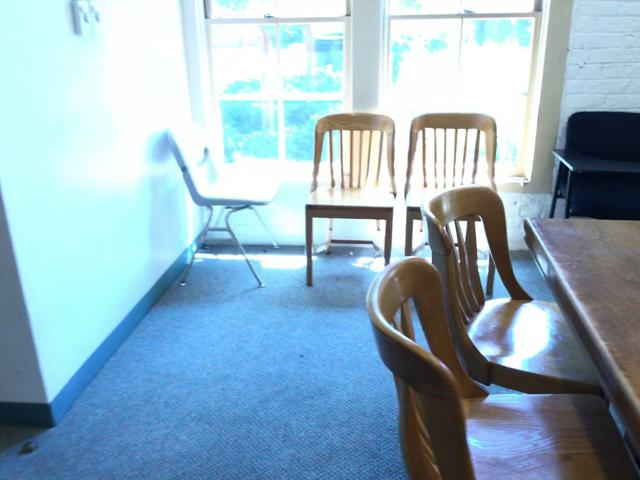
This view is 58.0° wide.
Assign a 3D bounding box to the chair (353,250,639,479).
[{"bbox_3d":[0.380,0.500,1.250,0.560,0.820,0.500,1,21,9],"label":"chair"}]

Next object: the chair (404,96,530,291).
[{"bbox_3d":[0.710,-0.260,2.980,0.530,0.860,0.590,1,21,9],"label":"chair"}]

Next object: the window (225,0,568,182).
[{"bbox_3d":[0.390,-0.910,3.210,1.730,1.120,0.300,1,21,9],"label":"window"}]

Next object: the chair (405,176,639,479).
[{"bbox_3d":[0.610,0.300,1.700,0.610,0.820,0.630,4,21,17],"label":"chair"}]

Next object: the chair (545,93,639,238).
[{"bbox_3d":[1.450,-0.380,2.780,0.530,0.570,0.590,1,21,9],"label":"chair"}]

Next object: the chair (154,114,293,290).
[{"bbox_3d":[-0.480,-0.230,3.150,0.520,0.810,0.600,1,21,9],"label":"chair"}]

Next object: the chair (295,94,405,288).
[{"bbox_3d":[0.200,-0.300,3.150,0.500,0.880,0.720,1,21,9],"label":"chair"}]
